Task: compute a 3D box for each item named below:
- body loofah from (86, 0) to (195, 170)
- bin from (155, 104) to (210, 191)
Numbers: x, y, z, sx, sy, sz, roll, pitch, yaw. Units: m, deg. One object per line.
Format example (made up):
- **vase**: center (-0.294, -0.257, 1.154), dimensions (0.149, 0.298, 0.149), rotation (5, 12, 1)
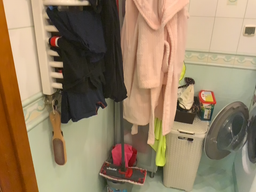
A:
- **body loofah**: center (0.130, -0.320, 1.530), dimensions (0.540, 1.400, 0.710), rotation (10, 25, 17)
- **bin**: center (0.480, 0.470, 1.850), dimensions (0.330, 0.610, 0.480), rotation (10, 25, 17)
